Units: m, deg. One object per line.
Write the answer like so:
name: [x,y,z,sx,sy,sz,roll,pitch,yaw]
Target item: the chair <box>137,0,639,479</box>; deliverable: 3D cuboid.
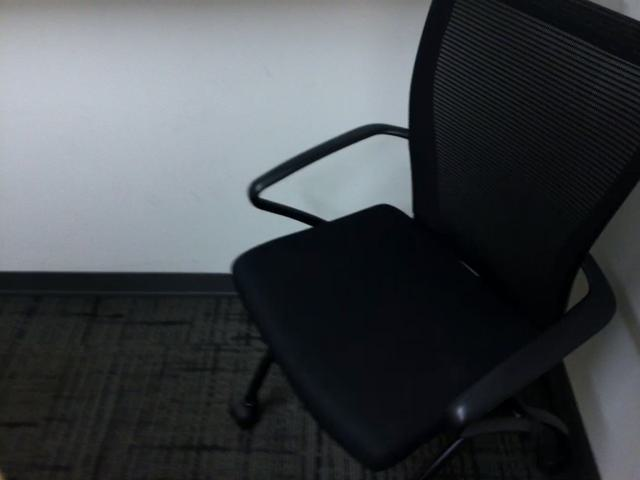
chair: [0.140,0.050,1.020,0.620,0.860,0.540,-18,43,-18]
